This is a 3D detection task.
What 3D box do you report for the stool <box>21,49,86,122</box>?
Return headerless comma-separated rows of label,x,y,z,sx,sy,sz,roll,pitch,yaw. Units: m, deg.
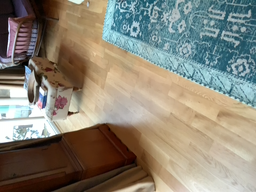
stool,-1.010,-0.170,2.750,1.010,0.410,0.520,39,118,43
